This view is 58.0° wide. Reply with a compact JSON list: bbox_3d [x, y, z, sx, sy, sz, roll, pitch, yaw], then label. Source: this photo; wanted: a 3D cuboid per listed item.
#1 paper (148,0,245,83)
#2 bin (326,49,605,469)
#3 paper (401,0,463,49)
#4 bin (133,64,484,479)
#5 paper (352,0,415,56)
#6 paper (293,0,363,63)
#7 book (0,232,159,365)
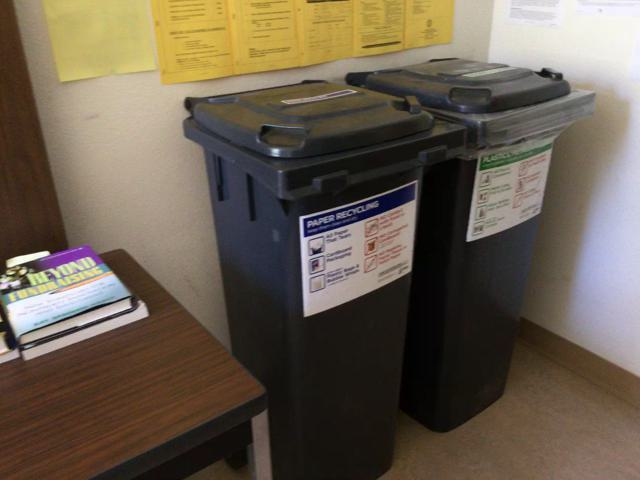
[{"bbox_3d":[-0.290,-0.530,1.340,0.200,0.290,0.040,-22,29,-32],"label":"paper"},{"bbox_3d":[0.410,0.020,1.730,0.470,1.050,0.530,-22,29,-32],"label":"bin"},{"bbox_3d":[0.340,-0.740,1.740,0.230,0.280,0.040,-22,29,-32],"label":"paper"},{"bbox_3d":[0.000,0.150,1.500,0.540,1.060,0.580,-22,29,-32],"label":"bin"},{"bbox_3d":[0.180,-0.680,1.630,0.210,0.280,0.030,-22,29,-32],"label":"paper"},{"bbox_3d":[0.020,-0.630,1.530,0.190,0.280,0.040,-22,29,-32],"label":"paper"},{"bbox_3d":[-0.470,0.090,1.070,0.220,0.060,0.310,-22,29,-32],"label":"book"}]
